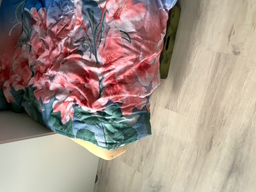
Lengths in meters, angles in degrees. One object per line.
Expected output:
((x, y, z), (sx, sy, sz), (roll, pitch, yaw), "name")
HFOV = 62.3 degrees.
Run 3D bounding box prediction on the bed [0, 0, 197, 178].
((-0.140, -0.720, 1.150), (0.940, 0.530, 1.900), (22, 105, 37), "bed")
